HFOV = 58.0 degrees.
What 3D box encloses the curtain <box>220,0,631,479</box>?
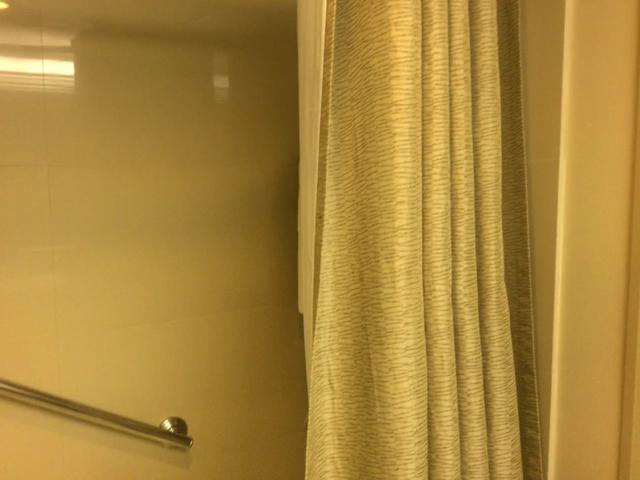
[{"bbox_3d":[0.200,0.370,0.920,0.580,2.030,0.250,-6,6,-32],"label":"curtain"}]
